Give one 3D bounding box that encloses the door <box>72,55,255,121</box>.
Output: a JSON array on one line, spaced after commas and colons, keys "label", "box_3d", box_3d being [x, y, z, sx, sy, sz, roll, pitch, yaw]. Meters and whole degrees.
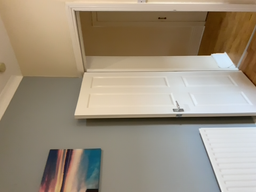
[{"label": "door", "box_3d": [0.490, -0.160, 2.500, 1.050, 2.090, 0.160, -94, 4, -50]}]
